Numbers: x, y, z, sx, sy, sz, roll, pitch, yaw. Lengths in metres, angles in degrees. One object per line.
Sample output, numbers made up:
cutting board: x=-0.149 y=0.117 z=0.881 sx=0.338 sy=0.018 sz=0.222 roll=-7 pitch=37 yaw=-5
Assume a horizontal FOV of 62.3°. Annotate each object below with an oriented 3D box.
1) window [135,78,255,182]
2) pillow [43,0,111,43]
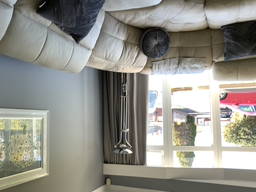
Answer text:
window: x=1.840 y=0.380 z=2.520 sx=3.570 sy=1.170 sz=0.550 roll=-3 pitch=174 yaw=26
pillow: x=-0.370 y=-0.640 z=1.550 sx=0.190 sy=0.330 sz=0.470 roll=-28 pitch=168 yaw=20
